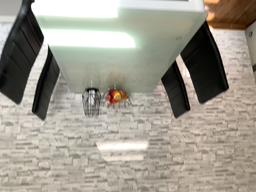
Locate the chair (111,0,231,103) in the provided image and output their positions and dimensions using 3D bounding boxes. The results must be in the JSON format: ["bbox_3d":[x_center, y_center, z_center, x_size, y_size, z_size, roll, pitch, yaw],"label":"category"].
[{"bbox_3d":[0.180,-0.480,1.250,0.500,0.970,0.390,2,164,-13],"label":"chair"}]
